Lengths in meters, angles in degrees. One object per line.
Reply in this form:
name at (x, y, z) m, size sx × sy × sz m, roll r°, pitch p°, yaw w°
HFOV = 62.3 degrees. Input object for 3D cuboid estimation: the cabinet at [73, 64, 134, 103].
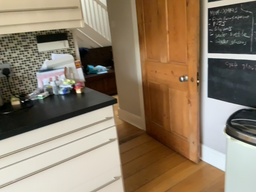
cabinet at (-0.520, -0.320, 4.630) m, size 1.080 × 0.540 × 0.640 m, roll -16°, pitch 21°, yaw -31°
